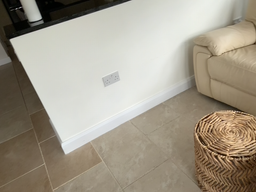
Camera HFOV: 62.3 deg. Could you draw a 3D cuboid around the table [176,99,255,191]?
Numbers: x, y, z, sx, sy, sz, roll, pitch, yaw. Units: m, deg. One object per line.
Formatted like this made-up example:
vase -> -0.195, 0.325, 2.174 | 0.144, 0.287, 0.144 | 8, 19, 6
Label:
table -> 0.570, 0.340, 1.220 | 0.390, 0.410, 0.380 | -24, 34, -17
